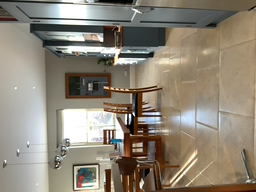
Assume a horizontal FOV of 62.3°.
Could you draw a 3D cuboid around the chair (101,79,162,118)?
[{"bbox_3d":[0.040,0.040,4.240,0.520,1.130,0.680,-127,38,-77],"label":"chair"}]
